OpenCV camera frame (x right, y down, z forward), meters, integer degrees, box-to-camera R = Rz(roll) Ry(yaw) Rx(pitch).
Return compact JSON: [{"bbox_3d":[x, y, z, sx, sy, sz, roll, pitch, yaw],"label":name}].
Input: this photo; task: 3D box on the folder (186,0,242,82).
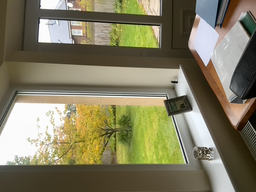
[{"bbox_3d":[0.510,-0.350,1.340,0.360,0.090,0.380,-96,11,-50],"label":"folder"}]
